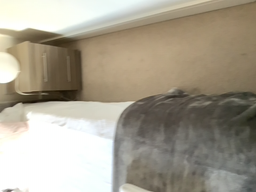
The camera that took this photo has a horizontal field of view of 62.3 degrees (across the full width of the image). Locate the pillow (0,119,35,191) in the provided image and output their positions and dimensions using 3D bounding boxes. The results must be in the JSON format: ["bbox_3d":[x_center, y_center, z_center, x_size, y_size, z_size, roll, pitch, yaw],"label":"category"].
[{"bbox_3d":[-0.920,0.480,1.710,0.160,0.240,0.560,-1,92,21],"label":"pillow"}]
